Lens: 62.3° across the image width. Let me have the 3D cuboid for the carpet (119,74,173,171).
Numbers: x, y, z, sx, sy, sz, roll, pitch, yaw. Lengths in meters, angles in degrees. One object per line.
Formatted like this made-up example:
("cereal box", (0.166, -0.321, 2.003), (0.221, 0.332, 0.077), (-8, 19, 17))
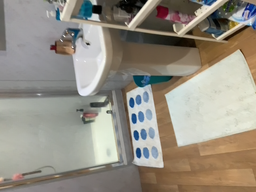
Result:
("carpet", (0.140, 0.300, 2.210), (0.610, 0.070, 0.870), (-39, 58, 55))

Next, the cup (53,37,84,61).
("cup", (-0.400, -0.310, 1.420), (0.120, 0.170, 0.100), (-34, 62, 57))
